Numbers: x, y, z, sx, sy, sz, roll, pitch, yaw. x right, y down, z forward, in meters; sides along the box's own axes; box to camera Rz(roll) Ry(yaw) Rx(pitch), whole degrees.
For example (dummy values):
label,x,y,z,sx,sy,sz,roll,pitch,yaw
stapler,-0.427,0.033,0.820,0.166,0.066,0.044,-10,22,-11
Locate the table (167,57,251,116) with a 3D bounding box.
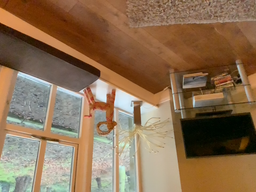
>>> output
label,x,y,z,sx,sy,sz,roll,pitch,yaw
table,0.910,-0.090,2.560,0.810,0.450,0.480,-6,153,9
